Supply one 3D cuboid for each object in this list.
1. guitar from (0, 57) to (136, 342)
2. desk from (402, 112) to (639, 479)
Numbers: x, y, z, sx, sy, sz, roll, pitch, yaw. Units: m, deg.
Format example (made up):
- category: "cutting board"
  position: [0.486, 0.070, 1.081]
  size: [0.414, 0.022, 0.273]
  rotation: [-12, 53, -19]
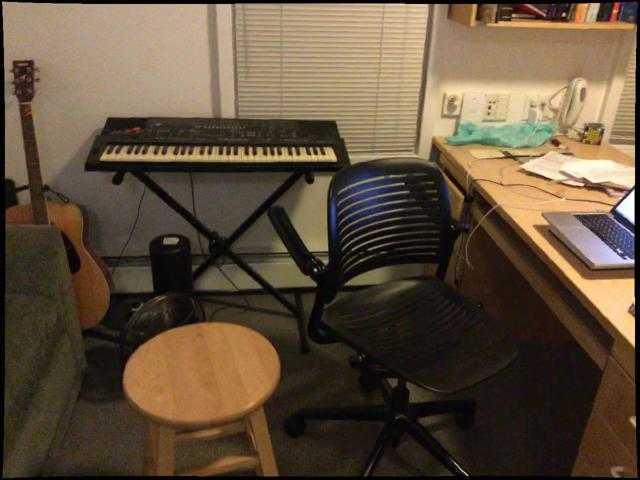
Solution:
- category: "guitar"
  position: [-1.009, -0.150, 2.100]
  size: [0.490, 0.891, 0.510]
  rotation: [-2, 29, -8]
- category: "desk"
  position: [0.959, 0.240, 1.910]
  size: [0.849, 0.801, 1.820]
  rotation: [-2, 29, -8]
